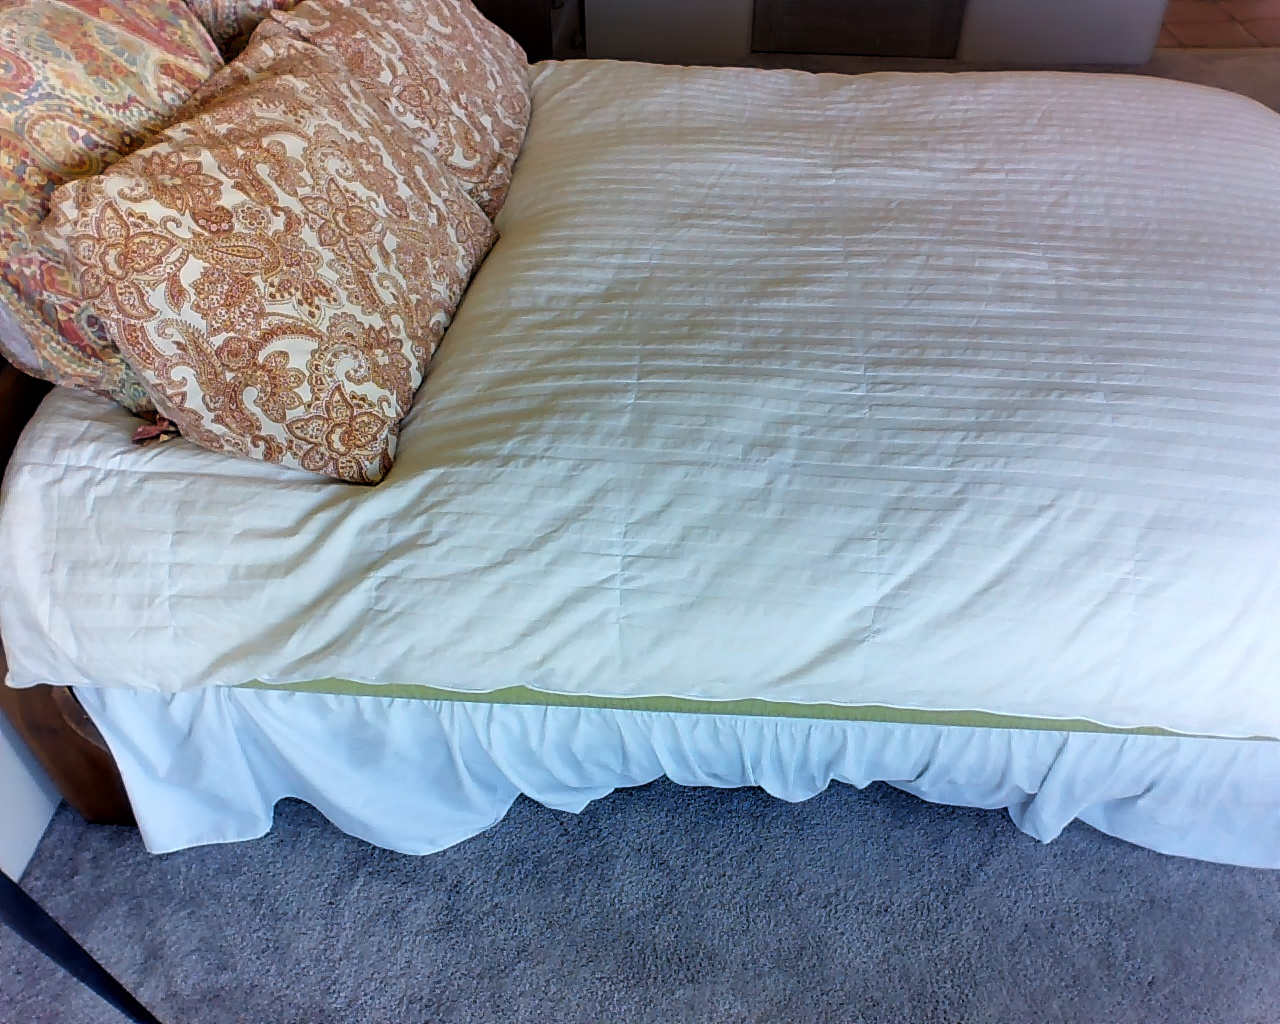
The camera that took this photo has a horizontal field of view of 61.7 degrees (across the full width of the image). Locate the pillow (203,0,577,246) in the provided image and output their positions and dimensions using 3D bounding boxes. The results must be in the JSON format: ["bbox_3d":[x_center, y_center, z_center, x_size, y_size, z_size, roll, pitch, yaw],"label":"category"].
[{"bbox_3d":[-0.390,-0.840,1.970,0.440,0.330,0.820,2,41,3],"label":"pillow"}]

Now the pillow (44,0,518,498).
[{"bbox_3d":[-0.390,-0.380,1.400,0.330,0.370,0.660,2,41,3],"label":"pillow"}]

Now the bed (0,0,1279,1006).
[{"bbox_3d":[0.310,-0.440,1.780,2.279,1.190,1.900,2,41,3],"label":"bed"}]

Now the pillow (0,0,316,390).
[{"bbox_3d":[-0.690,-0.510,1.390,0.270,0.390,0.650,2,41,3],"label":"pillow"}]
